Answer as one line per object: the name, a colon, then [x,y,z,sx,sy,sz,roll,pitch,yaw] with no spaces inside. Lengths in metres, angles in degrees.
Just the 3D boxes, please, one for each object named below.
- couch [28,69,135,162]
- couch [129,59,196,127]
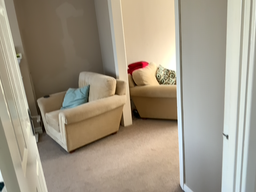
couch: [-0.710,0.150,3.190,1.040,0.880,1.190,-17,20,-35]
couch: [0.680,-0.120,3.740,0.980,0.880,1.160,0,17,17]
